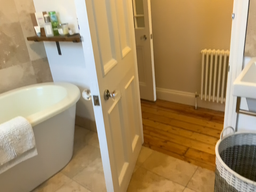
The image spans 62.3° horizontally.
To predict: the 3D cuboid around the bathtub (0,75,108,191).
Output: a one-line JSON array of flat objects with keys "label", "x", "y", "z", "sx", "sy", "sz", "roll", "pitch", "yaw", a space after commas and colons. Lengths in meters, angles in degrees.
[{"label": "bathtub", "x": -1.090, "y": 0.450, "z": 1.600, "sx": 0.820, "sy": 0.620, "sz": 1.760, "roll": 12, "pitch": 29, "yaw": 36}]
